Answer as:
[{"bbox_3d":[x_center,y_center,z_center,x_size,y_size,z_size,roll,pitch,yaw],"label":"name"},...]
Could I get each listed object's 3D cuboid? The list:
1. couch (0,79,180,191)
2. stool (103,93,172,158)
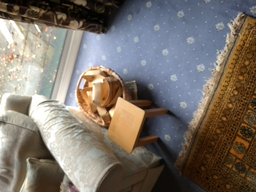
[{"bbox_3d":[-0.630,0.950,1.800,1.140,0.900,1.850,35,113,33],"label":"couch"},{"bbox_3d":[0.070,0.190,1.550,0.260,0.350,0.340,28,109,35],"label":"stool"}]
